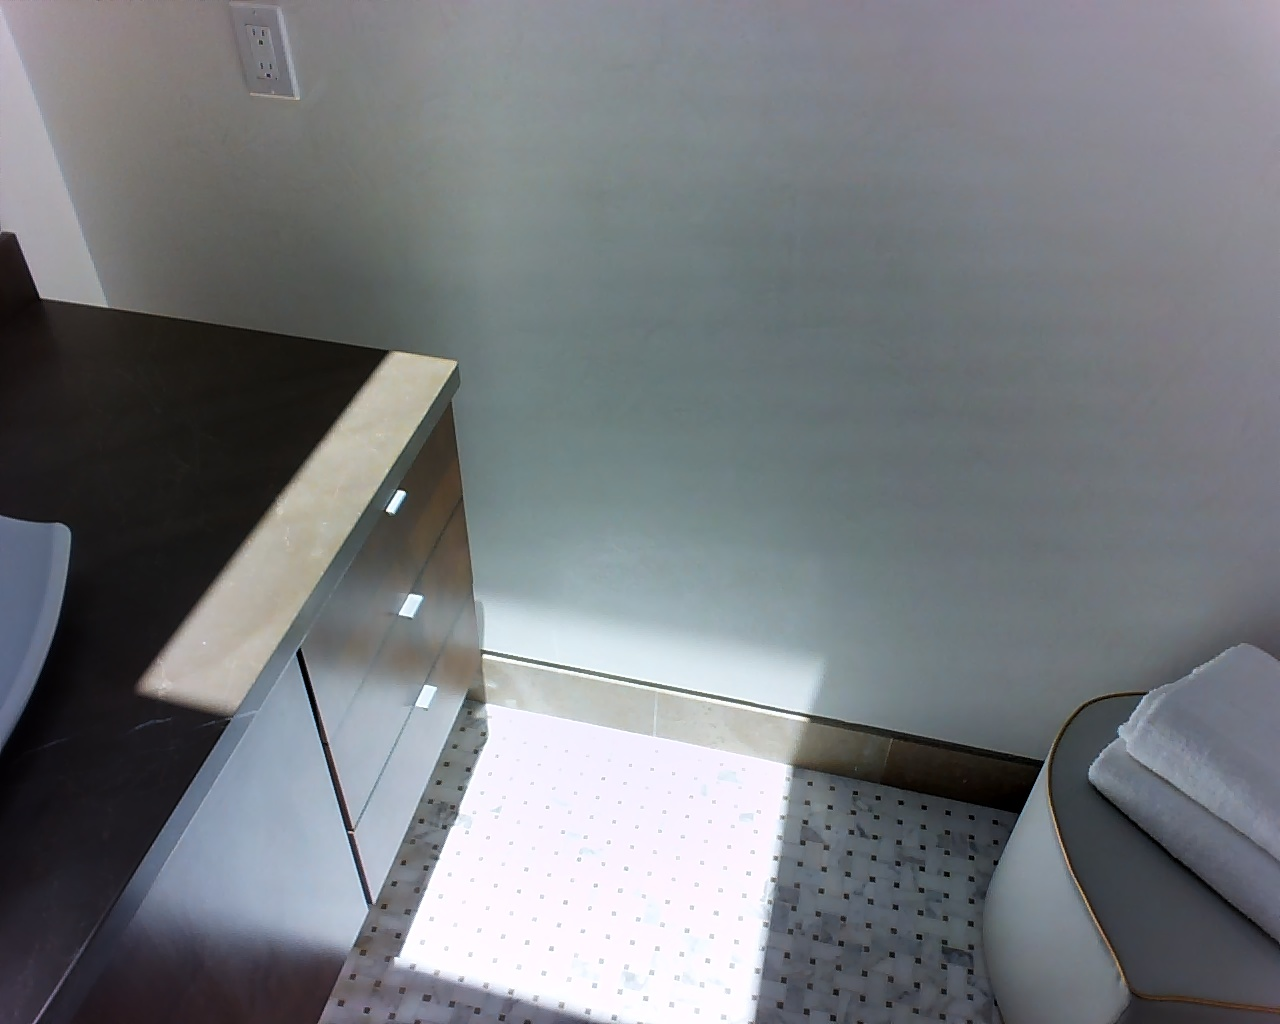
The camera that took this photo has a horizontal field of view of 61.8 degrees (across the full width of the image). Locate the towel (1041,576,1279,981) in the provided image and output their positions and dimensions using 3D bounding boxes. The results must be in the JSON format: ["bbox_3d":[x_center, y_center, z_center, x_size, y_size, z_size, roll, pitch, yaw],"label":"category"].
[{"bbox_3d":[0.820,0.340,1.420,0.290,0.210,0.420,-20,46,-22],"label":"towel"}]
